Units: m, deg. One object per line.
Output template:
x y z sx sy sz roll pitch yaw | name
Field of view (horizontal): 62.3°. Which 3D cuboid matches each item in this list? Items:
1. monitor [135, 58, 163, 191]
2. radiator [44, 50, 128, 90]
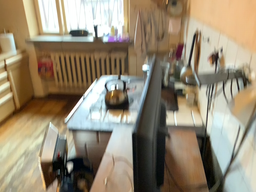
0.100 0.150 0.880 0.040 0.450 0.670 4 26 9 | monitor
-0.660 -0.430 3.450 1.300 0.580 0.180 3 25 6 | radiator
